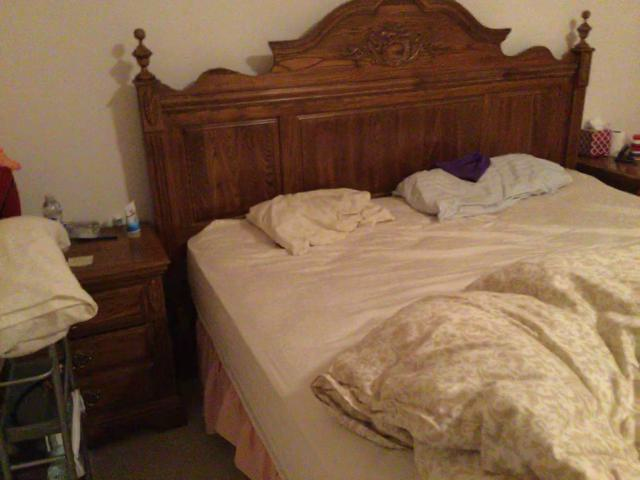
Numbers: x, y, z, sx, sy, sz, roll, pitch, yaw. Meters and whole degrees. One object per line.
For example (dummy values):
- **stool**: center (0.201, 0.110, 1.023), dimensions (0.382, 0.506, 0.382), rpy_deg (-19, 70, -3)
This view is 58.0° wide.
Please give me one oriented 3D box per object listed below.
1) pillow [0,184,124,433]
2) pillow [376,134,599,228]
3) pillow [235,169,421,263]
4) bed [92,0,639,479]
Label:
- **pillow**: center (-0.760, 0.130, 1.430), dimensions (0.420, 0.350, 0.680), rpy_deg (-13, 20, -19)
- **pillow**: center (0.660, -0.260, 2.330), dimensions (0.730, 0.180, 0.450), rpy_deg (-12, 20, -18)
- **pillow**: center (0.010, -0.110, 2.100), dimensions (0.520, 0.140, 0.490), rpy_deg (-12, 20, -18)
- **bed**: center (0.680, 0.050, 1.550), dimensions (2.080, 1.640, 2.290), rpy_deg (-12, 20, -18)
